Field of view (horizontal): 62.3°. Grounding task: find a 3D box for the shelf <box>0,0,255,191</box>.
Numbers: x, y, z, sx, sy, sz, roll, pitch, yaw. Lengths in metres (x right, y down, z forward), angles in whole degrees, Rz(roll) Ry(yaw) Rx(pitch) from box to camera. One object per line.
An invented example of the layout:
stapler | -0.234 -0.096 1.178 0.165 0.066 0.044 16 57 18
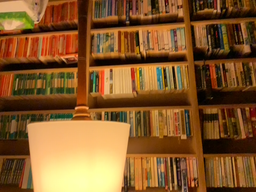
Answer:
shelf | 0.100 0.140 1.620 2.420 2.080 0.350 -2 164 5
